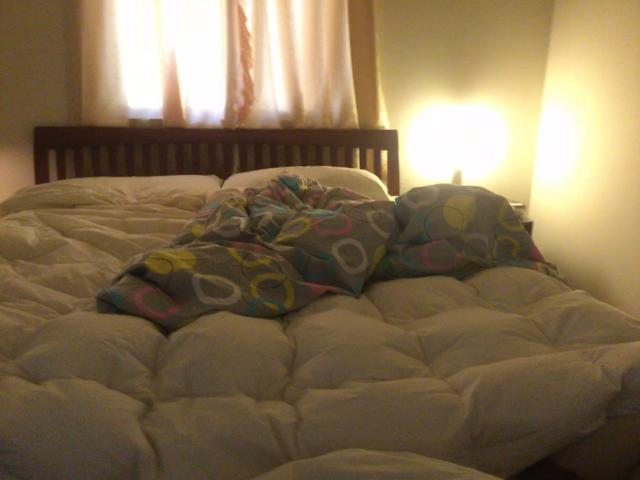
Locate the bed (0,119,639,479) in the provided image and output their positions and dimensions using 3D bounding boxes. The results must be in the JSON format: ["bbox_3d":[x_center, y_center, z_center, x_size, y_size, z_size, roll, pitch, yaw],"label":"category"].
[{"bbox_3d":[-0.290,0.270,1.960,2.040,1.150,2.500,-3,16,-11],"label":"bed"}]

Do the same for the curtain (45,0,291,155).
[{"bbox_3d":[-0.680,-0.800,2.750,1.040,0.730,0.260,-3,16,-11],"label":"curtain"}]
